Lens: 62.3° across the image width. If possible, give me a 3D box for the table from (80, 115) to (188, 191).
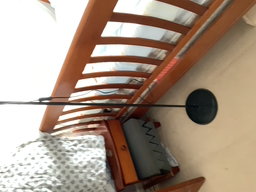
[{"bbox_3d":[0.020,0.530,1.830,0.570,0.620,0.480,-50,50,43],"label":"table"}]
